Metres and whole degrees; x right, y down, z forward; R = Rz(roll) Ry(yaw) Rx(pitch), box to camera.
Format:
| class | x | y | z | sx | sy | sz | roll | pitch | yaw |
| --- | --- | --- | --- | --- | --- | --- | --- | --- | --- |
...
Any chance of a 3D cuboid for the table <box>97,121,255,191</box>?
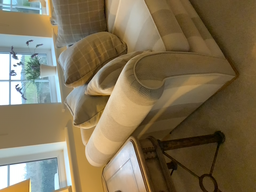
| class | x | y | z | sx | sy | sz | roll | pitch | yaw |
| --- | --- | --- | --- | --- | --- | --- | --- | --- | --- |
| table | 0.250 | 0.620 | 1.270 | 0.710 | 0.610 | 0.630 | 123 | 138 | -50 |

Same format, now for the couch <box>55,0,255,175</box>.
| class | x | y | z | sx | sy | sz | roll | pitch | yaw |
| --- | --- | --- | --- | --- | --- | --- | --- | --- | --- |
| couch | -0.110 | -0.600 | 1.800 | 1.040 | 0.720 | 2.100 | 123 | 138 | -50 |
